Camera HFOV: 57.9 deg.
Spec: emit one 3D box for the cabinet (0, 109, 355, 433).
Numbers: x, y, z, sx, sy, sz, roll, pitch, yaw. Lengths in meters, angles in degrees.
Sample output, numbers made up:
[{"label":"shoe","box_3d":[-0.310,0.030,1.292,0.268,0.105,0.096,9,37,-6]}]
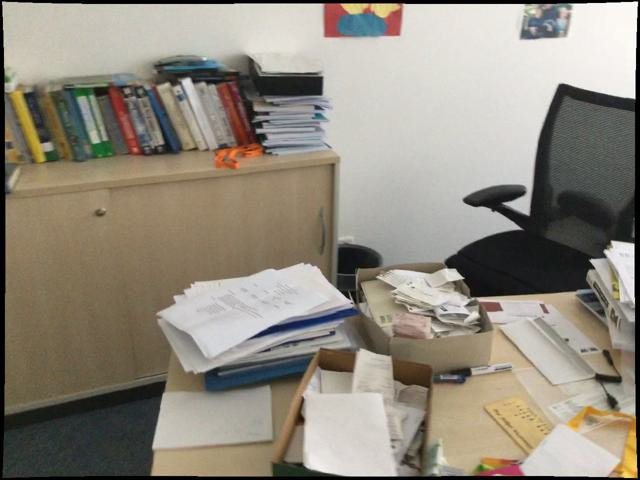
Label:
[{"label":"cabinet","box_3d":[-0.689,0.100,2.050,1.599,0.921,0.330,-9,29,-18]}]
